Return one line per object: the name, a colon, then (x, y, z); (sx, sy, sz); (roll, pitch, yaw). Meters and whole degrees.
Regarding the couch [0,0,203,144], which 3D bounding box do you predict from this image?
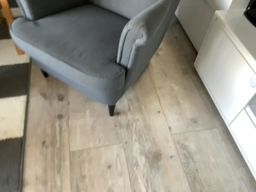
couch: (-0.130, -0.530, 1.130); (0.820, 0.980, 0.940); (30, 56, 17)
